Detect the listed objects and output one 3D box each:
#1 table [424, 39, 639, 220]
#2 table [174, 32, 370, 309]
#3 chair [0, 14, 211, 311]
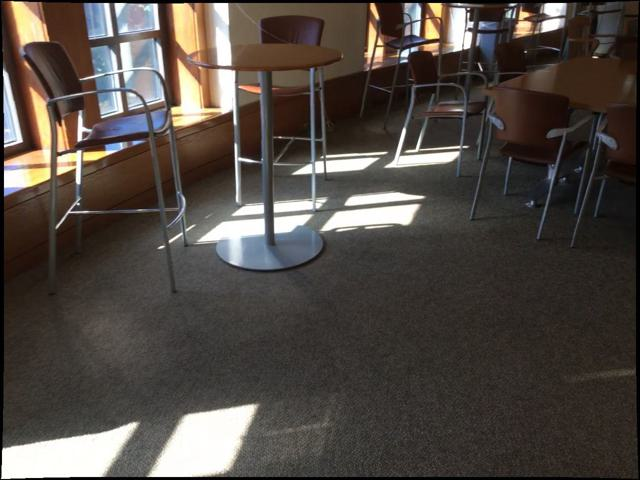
[{"bbox_3d":[1.706,-0.812,3.610,1.358,0.611,1.759,17,32,37],"label":"table"},{"bbox_3d":[-0.190,-0.391,2.940,0.579,1.182,0.690,15,31,34],"label":"table"},{"bbox_3d":[-0.958,-0.361,2.770,0.648,1.282,0.470,-5,25,-3],"label":"chair"}]
